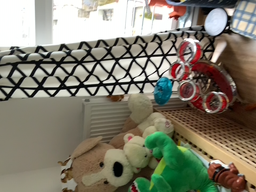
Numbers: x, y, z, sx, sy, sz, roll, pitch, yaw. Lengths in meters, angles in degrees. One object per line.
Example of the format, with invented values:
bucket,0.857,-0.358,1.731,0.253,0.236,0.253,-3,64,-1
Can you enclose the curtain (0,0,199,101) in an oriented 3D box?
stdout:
curtain,-0.520,-0.250,1.220,0.250,2.140,0.490,31,119,59
